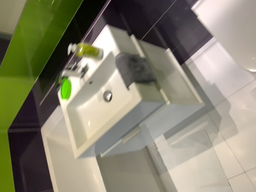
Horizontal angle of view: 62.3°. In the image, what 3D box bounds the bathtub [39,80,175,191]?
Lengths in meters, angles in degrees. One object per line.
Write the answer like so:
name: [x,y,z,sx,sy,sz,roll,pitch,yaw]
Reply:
bathtub: [-0.130,0.810,1.720,0.760,0.580,1.720,-44,58,33]
